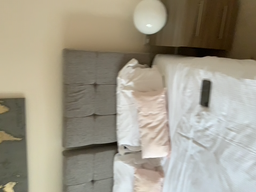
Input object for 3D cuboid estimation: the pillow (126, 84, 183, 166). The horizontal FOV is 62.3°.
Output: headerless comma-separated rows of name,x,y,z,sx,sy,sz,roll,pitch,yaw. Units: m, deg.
pillow,0.210,0.230,1.640,0.110,0.270,0.580,17,87,52
